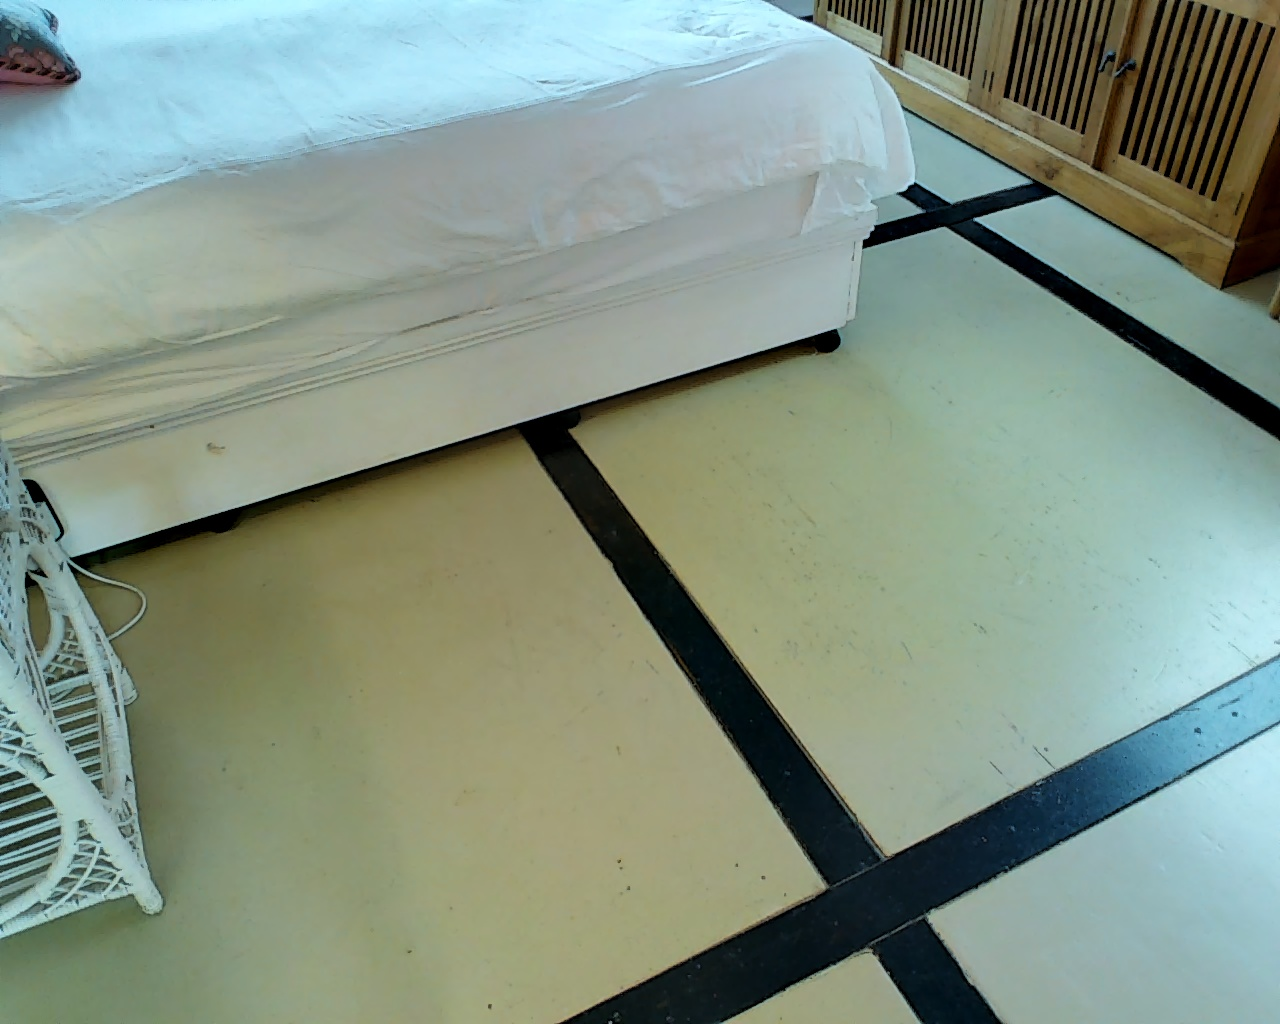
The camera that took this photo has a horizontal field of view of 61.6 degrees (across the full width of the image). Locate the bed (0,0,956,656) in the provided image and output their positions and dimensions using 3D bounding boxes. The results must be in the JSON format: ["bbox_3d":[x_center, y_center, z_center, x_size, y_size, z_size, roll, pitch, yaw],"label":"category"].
[{"bbox_3d":[-0.750,-0.720,2.350,2.140,0.660,1.640,-19,44,-19],"label":"bed"}]
